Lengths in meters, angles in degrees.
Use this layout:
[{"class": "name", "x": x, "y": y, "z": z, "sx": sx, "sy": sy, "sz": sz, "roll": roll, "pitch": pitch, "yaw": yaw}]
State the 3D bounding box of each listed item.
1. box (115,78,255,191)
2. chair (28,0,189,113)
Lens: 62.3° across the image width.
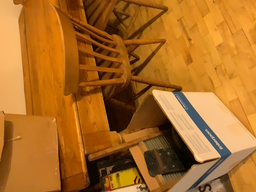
[{"class": "box", "x": 0.330, "y": 0.240, "z": 1.170, "sx": 0.450, "sy": 0.520, "sz": 0.470, "roll": -57, "pitch": 50, "yaw": 34}, {"class": "chair", "x": -0.120, "y": -0.220, "z": 1.430, "sx": 0.480, "sy": 0.870, "sz": 0.450, "roll": -46, "pitch": 56, "yaw": 40}]
